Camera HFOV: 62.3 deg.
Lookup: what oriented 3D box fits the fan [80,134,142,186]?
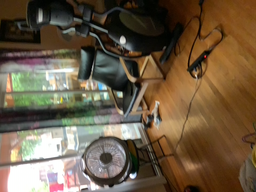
[{"bbox_3d":[-0.210,0.760,2.630,0.250,0.680,0.500,160,106,-65],"label":"fan"}]

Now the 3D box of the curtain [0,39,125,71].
[{"bbox_3d":[-1.090,-0.670,3.590,0.210,2.070,0.430,114,146,-45],"label":"curtain"}]

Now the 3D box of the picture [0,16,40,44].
[{"bbox_3d":[-2.030,-1.240,3.970,0.080,0.680,0.720,113,146,-44],"label":"picture"}]

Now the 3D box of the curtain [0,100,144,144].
[{"bbox_3d":[-0.740,0.330,3.000,0.380,1.920,0.310,111,148,-42],"label":"curtain"}]
